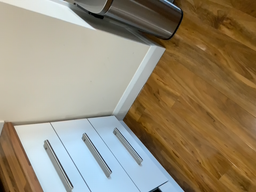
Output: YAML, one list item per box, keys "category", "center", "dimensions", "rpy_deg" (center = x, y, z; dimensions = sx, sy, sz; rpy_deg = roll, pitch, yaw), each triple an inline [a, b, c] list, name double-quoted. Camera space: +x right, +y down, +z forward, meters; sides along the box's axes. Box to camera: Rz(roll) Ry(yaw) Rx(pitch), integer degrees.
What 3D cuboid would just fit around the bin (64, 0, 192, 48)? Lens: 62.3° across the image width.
- category: "bin"
  center: [0.010, -0.560, 1.240]
  dimensions: [0.370, 0.650, 0.300]
  rpy_deg: [46, 118, 30]
